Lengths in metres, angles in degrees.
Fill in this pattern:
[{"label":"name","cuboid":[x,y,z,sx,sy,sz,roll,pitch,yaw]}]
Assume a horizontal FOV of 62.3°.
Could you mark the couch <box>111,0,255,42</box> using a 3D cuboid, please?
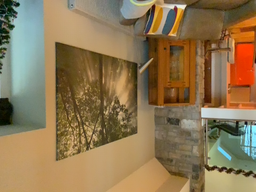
[{"label":"couch","cuboid":[0.760,-1.300,2.930,1.800,0.780,1.090,-1,-178,-15]}]
